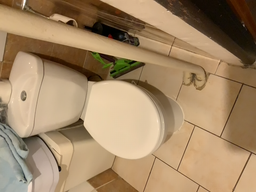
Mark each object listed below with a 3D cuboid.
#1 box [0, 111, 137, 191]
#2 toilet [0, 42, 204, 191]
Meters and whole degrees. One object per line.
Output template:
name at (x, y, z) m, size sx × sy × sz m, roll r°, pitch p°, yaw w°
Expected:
box at (-0.390, 0.370, 1.330) m, size 0.390 × 0.850 × 0.370 m, roll 27°, pitch 106°, yaw 33°
toilet at (-0.140, 0.080, 1.140) m, size 0.750 × 0.740 × 0.410 m, roll 29°, pitch 107°, yaw 33°
